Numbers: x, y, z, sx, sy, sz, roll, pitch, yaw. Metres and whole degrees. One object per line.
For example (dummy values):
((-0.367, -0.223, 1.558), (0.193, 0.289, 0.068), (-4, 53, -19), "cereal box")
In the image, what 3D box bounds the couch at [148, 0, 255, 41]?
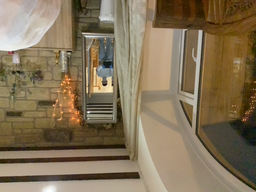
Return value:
((0.560, -0.830, 1.450), (0.580, 0.760, 1.060), (0, -171, -8), "couch")
